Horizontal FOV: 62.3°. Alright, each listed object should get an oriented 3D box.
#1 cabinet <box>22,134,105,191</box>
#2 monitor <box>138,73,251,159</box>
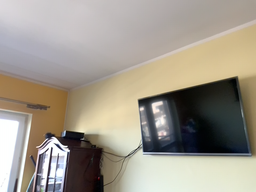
[{"bbox_3d":[-0.800,1.360,2.350,0.980,1.770,0.430,-13,-22,42],"label":"cabinet"},{"bbox_3d":[0.450,0.190,1.710,0.900,0.560,0.070,-12,-21,44],"label":"monitor"}]
